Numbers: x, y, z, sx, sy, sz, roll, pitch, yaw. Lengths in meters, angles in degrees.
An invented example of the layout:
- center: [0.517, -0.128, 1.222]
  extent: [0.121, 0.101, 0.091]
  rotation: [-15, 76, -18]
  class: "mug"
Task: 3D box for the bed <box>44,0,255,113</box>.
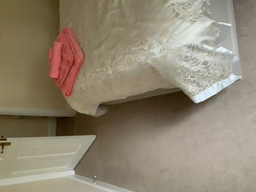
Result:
- center: [-0.060, -1.010, 1.830]
  extent: [1.650, 0.700, 2.140]
  rotation: [-13, 75, 50]
  class: "bed"
